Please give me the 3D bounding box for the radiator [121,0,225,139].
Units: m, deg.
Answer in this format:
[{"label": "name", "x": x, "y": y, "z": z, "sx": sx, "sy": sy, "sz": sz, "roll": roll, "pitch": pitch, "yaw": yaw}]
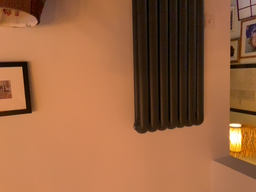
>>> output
[{"label": "radiator", "x": 0.240, "y": -0.720, "z": 1.110, "sx": 0.550, "sy": 1.820, "sz": 0.150, "roll": -5, "pitch": -173, "yaw": -20}]
